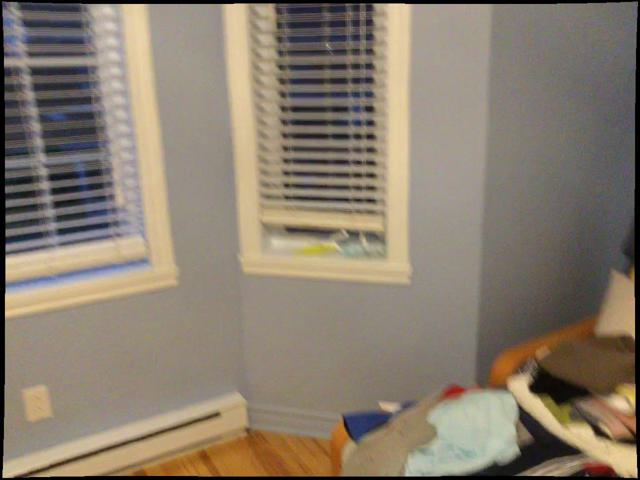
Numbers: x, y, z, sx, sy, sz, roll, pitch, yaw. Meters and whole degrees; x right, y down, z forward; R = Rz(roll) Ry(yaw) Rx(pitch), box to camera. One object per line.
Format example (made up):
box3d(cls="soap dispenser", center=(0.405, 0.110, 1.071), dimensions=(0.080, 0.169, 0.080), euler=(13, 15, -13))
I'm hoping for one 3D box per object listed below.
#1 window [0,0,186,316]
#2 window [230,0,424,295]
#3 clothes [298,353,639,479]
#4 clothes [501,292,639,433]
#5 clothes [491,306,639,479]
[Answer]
box3d(cls="window", center=(-1.149, -0.410, 1.590), dimensions=(1.379, 1.331, 0.230), euler=(-12, 20, -27))
box3d(cls="window", center=(0.010, -0.641, 1.850), dimensions=(0.420, 1.491, 0.490), euler=(-12, 20, -27))
box3d(cls="clothes", center=(0.360, 0.671, 1.470), dimensions=(0.620, 0.410, 0.570), euler=(-12, 20, -27))
box3d(cls="clothes", center=(0.819, 0.320, 1.650), dimensions=(0.400, 0.130, 0.410), euler=(-12, 20, -27))
box3d(cls="clothes", center=(0.779, 0.420, 1.550), dimensions=(0.380, 0.260, 0.470), euler=(-12, 20, -27))
